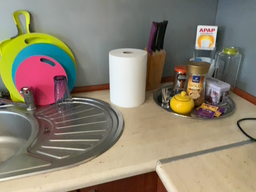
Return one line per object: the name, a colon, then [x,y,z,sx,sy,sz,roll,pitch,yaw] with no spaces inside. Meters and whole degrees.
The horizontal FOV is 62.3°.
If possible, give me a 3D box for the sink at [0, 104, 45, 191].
sink: [-0.540,0.220,0.770,0.410,0.170,0.390,-7,27,-16]
